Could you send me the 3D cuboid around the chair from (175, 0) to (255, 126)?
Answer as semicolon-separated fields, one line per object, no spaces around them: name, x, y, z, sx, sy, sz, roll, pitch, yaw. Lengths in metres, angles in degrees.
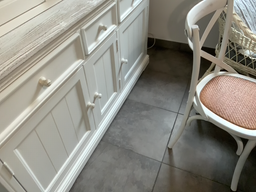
chair;0.860;-0.360;1.620;0.610;0.760;0.640;-34;53;-30
